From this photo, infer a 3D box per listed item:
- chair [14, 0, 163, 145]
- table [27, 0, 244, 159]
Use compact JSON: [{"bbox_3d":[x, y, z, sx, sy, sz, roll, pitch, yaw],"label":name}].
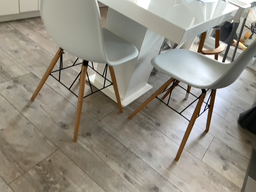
[{"bbox_3d":[-0.230,-0.260,1.170,0.440,0.810,0.530,35,40,20],"label":"chair"},{"bbox_3d":[0.030,-0.370,1.470,0.960,0.770,0.940,35,40,20],"label":"table"}]
